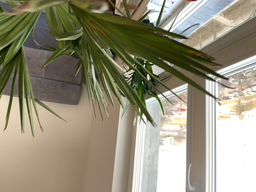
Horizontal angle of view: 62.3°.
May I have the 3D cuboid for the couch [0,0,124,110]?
[{"bbox_3d":[-1.340,-0.590,2.310,2.270,1.010,1.090,11,165,-20],"label":"couch"}]
